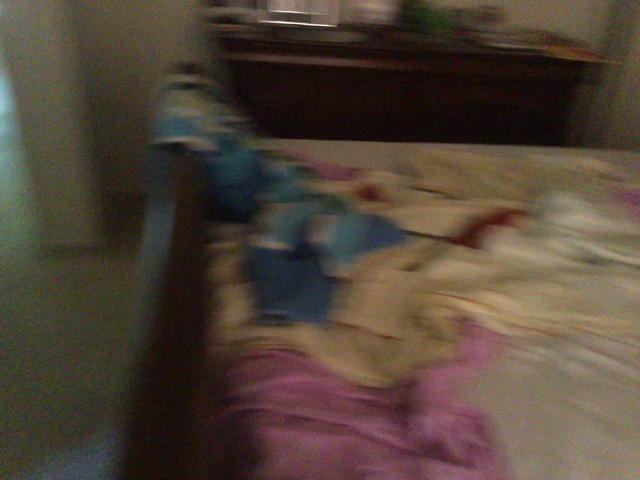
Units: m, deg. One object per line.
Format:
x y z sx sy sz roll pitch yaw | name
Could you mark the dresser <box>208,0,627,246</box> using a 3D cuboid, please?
0.340 -0.510 2.600 1.640 0.950 0.500 0 29 -12 | dresser
